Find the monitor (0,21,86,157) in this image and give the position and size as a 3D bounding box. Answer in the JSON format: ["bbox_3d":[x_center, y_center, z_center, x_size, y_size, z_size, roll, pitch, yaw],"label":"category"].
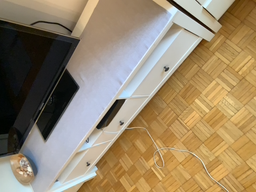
[{"bbox_3d":[-0.670,0.060,1.070,0.050,0.590,0.940,51,119,23],"label":"monitor"}]
